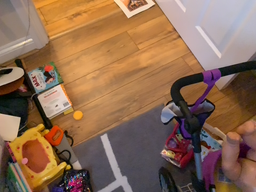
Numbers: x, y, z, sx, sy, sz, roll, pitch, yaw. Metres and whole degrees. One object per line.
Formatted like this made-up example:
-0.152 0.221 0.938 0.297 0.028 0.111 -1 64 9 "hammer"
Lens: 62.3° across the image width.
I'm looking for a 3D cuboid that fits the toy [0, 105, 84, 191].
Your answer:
-0.380 0.230 0.950 0.220 0.110 0.290 -34 72 -16 "toy"
